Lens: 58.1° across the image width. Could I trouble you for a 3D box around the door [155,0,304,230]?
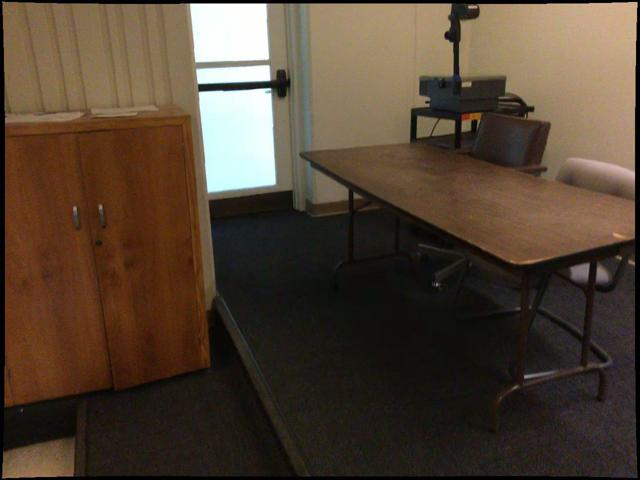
[{"bbox_3d":[-0.628,-1.183,4.180,0.998,2.155,0.200,-7,21,-21],"label":"door"}]
